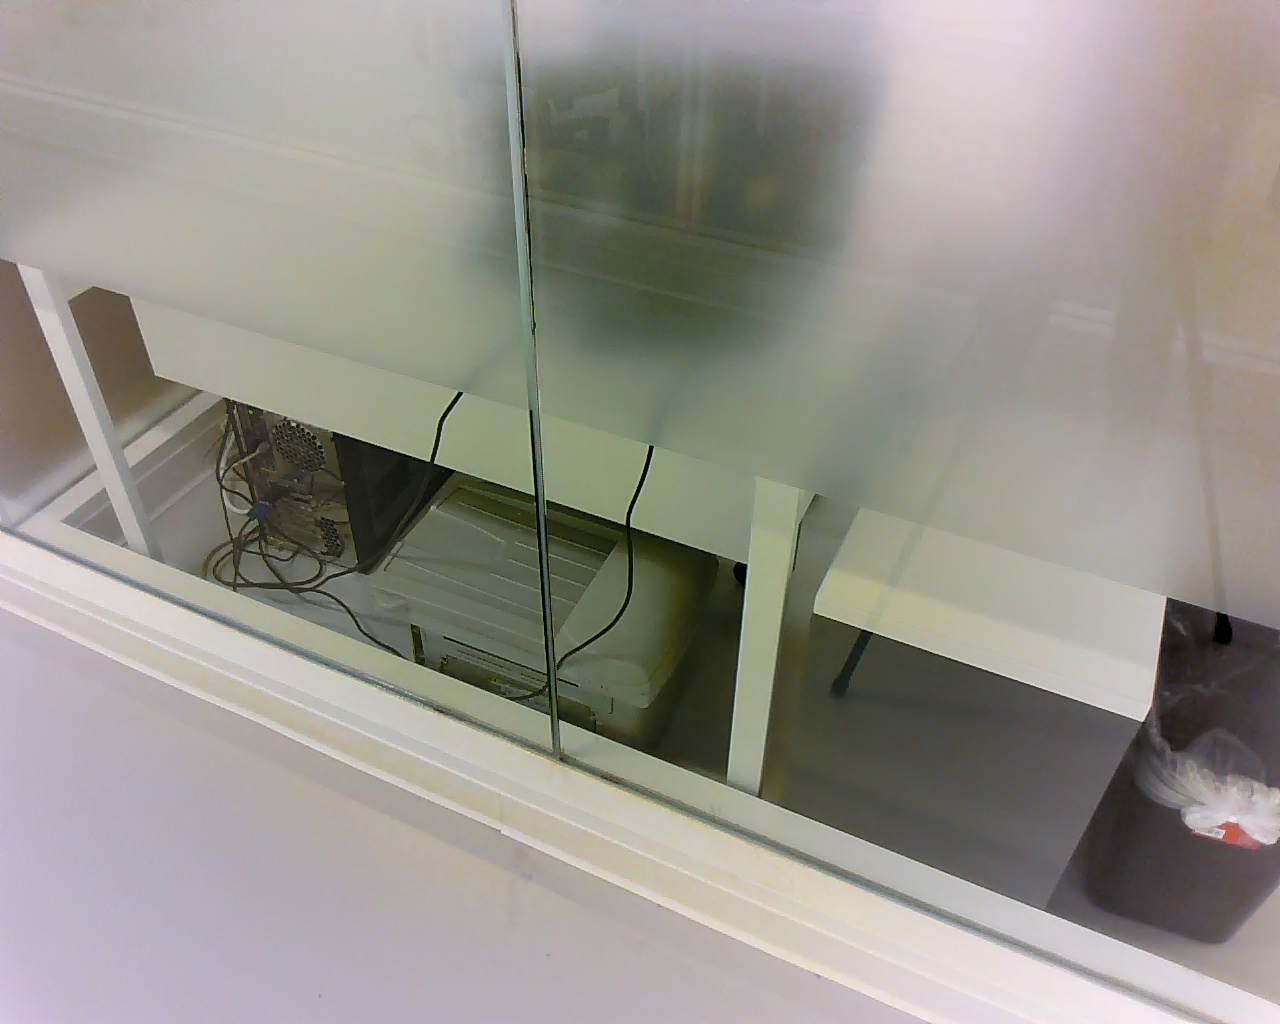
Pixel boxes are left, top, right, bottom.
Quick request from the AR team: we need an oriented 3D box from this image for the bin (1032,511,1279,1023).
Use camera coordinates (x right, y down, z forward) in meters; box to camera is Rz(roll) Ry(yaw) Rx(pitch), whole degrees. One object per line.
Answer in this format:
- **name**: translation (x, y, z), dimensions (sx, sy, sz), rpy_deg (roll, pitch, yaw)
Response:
- **bin**: translation (0.820, 0.350, 1.510), dimensions (0.340, 0.420, 0.490), rpy_deg (17, 44, 19)
